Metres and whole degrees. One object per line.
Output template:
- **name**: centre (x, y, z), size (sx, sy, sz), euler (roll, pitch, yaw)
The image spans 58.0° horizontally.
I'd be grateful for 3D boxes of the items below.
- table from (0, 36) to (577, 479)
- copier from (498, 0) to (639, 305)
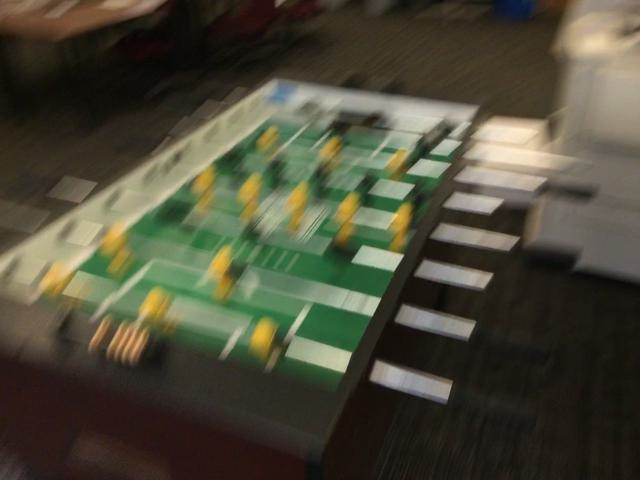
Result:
- **table**: centre (-0.020, 0.200, 1.750), size (1.160, 1.130, 1.510), euler (13, 36, 19)
- **copier**: centre (1.190, -0.360, 2.200), size (0.740, 1.040, 0.560), euler (13, 36, 19)
